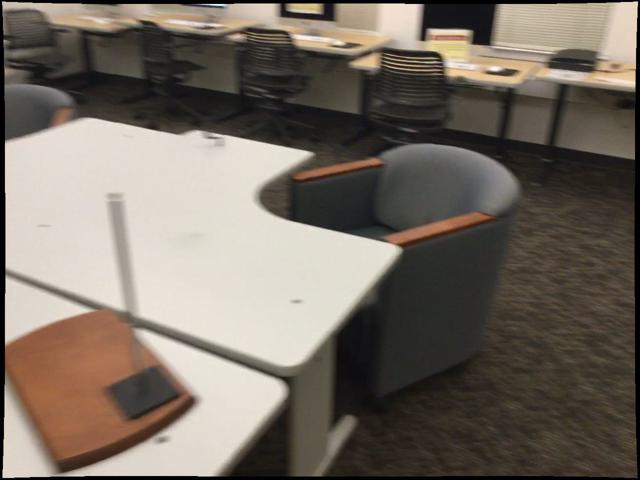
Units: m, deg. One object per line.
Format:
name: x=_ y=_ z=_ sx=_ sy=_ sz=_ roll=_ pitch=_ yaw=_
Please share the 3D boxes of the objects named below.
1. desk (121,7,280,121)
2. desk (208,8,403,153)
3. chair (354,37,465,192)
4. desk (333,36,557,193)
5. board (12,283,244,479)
desk: x=-1.059 y=-1.642 z=5.280 sx=1.089 sy=0.761 sz=0.820 roll=16 pitch=32 yaw=27
desk: x=-0.110 y=-1.351 z=4.720 sx=1.269 sy=0.851 sz=0.850 roll=16 pitch=32 yaw=27
chair: x=0.579 y=-0.831 z=3.760 sx=0.609 sy=0.821 sz=0.590 roll=6 pitch=29 yaw=10
desk: x=0.879 y=-0.961 z=4.140 sx=1.239 sy=0.721 sz=0.970 roll=16 pitch=32 yaw=27
board: x=-0.390 y=0.250 z=1.140 sx=0.280 sy=0.060 sz=0.440 roll=-21 pitch=35 yaw=-34
